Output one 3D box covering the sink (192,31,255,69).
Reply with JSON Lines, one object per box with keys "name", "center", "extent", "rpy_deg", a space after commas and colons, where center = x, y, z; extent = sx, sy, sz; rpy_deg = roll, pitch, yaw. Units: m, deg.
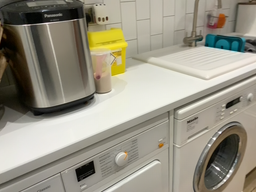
{"name": "sink", "center": [0.810, -0.330, 1.410], "extent": [0.550, 0.100, 0.490], "rpy_deg": [-17, 28, -28]}
